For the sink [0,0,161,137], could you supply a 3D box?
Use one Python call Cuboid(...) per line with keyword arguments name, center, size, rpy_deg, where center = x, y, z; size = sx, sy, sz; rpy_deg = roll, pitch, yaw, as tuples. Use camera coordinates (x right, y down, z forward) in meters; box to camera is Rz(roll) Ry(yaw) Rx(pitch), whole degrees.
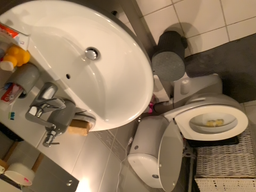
Cuboid(name="sink", center=(-0.170, -0.090, 0.840), size=(0.400, 0.170, 0.570), rpy_deg=(-13, 130, 28))
